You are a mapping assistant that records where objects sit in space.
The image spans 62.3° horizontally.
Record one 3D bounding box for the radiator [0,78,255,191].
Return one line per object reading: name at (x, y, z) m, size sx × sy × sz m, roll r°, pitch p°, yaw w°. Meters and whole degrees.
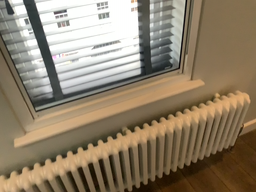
radiator at (0.050, 0.360, 1.120) m, size 1.550 × 0.530 × 0.140 m, roll -17°, pitch 41°, yaw -14°
